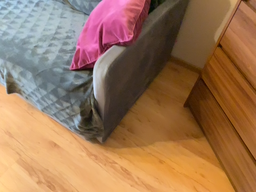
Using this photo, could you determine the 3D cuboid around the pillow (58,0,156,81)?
[{"bbox_3d":[-0.090,-0.320,0.960,0.190,0.360,0.370,34,60,-23],"label":"pillow"}]
